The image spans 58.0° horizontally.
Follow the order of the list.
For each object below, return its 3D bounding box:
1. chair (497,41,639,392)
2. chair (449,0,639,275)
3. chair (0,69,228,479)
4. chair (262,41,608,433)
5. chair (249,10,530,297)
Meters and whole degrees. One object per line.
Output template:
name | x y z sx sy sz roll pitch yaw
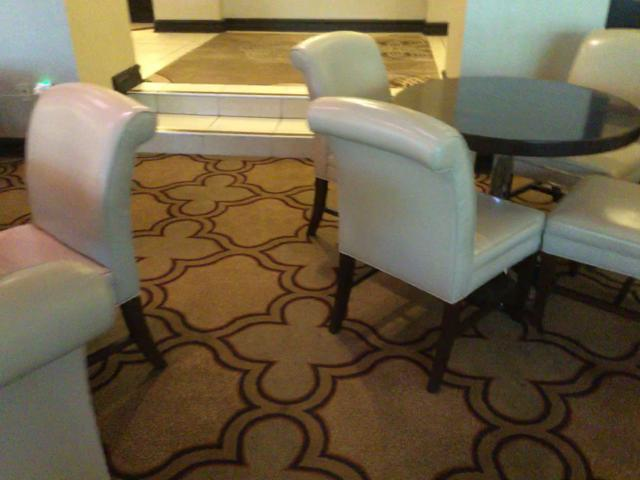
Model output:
chair | 1.190 -0.110 1.970 0.860 0.920 0.860 12 31 26
chair | 1.260 -0.550 2.650 0.910 0.910 0.860 -19 32 -28
chair | -0.830 0.070 1.710 0.590 0.920 0.820 21 36 37
chair | 0.390 -0.100 1.970 0.680 0.930 0.860 21 36 37
chair | 0.310 -0.460 2.590 0.810 0.940 0.840 21 36 37
